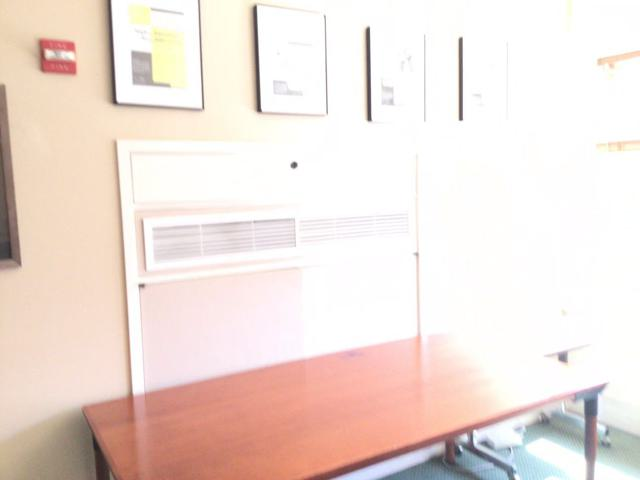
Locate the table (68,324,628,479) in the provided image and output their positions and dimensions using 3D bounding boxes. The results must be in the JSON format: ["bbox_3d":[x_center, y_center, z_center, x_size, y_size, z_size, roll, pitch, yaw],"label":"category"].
[{"bbox_3d":[0.130,0.920,2.270,1.880,0.800,1.070,-5,1,-30],"label":"table"}]

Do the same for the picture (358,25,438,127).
[{"bbox_3d":[0.390,-0.800,2.860,0.380,0.450,0.090,-5,1,-30],"label":"picture"}]

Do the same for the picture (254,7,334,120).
[{"bbox_3d":[-0.110,-0.770,2.560,0.350,0.450,0.060,-4,6,-28],"label":"picture"}]

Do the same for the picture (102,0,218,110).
[{"bbox_3d":[-0.620,-0.760,2.260,0.400,0.470,0.080,-5,1,-30],"label":"picture"}]

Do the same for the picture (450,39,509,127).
[{"bbox_3d":[0.860,-0.830,3.100,0.370,0.430,0.060,-5,8,-30],"label":"picture"}]
